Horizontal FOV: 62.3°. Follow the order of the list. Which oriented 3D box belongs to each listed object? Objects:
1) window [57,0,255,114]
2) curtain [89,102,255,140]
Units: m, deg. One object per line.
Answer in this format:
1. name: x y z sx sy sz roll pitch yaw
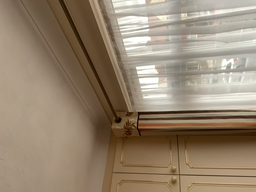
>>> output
1. window: 0.390 -0.740 0.840 2.750 1.680 0.090 72 -160 -50
2. curtain: 0.600 0.220 1.810 0.200 1.870 0.230 74 -162 -44
